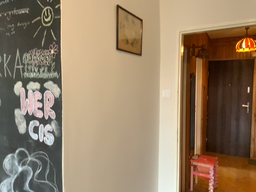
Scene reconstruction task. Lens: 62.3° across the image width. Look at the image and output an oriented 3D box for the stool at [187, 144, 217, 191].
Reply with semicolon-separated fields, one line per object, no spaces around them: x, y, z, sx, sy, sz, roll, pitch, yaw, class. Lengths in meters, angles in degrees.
1.170;1.110;3.300;0.330;0.490;0.700;3;4;27;stool
